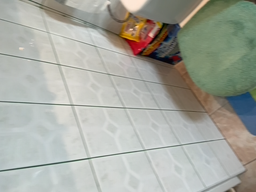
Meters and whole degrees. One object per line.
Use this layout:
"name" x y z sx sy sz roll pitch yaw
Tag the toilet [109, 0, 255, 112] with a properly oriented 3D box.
"toilet" 0.400 -0.320 1.080 0.420 0.690 0.660 -46 56 30
